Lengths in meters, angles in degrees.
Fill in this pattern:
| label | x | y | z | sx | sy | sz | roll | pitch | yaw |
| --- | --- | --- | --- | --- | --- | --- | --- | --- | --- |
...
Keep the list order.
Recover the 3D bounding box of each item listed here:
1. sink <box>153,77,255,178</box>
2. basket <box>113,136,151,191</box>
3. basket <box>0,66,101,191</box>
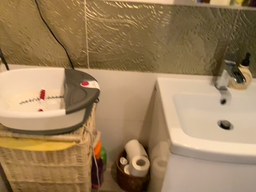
| label | x | y | z | sx | sy | sz | roll | pitch | yaw |
| --- | --- | --- | --- | --- | --- | --- | --- | --- | --- |
| sink | 0.410 | 0.100 | 0.860 | 0.560 | 0.110 | 0.450 | 3 | 34 | -2 |
| basket | 0.010 | 0.370 | 1.170 | 0.180 | 0.210 | 0.200 | 1 | 34 | -5 |
| basket | -0.380 | 0.330 | 1.070 | 0.460 | 0.900 | 0.280 | 3 | 34 | -2 |
